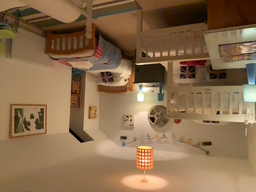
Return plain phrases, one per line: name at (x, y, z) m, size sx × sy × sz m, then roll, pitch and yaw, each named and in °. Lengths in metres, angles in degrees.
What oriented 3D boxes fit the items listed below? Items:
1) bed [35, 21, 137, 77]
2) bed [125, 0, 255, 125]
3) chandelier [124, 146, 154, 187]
bed at (-0.720, -0.840, 4.500) m, size 1.100 × 0.540 × 2.080 m, roll 0°, pitch 176°, yaw 24°
bed at (1.150, -0.360, 3.540) m, size 1.570 × 1.490 × 2.230 m, roll 0°, pitch 176°, yaw 24°
chandelier at (0.150, 0.870, 2.690) m, size 0.270 × 0.400 × 0.340 m, roll 0°, pitch 176°, yaw 21°
